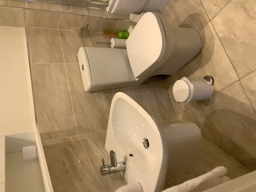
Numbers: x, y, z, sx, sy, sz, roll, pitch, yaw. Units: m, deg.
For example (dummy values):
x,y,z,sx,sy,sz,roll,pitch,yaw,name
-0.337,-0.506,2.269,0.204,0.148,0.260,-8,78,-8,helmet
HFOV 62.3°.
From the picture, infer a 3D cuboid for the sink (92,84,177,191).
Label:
x,y,z,sx,sy,sz,roll,pitch,yaw,name
-0.020,0.240,1.180,0.570,0.150,0.440,39,127,53,sink
